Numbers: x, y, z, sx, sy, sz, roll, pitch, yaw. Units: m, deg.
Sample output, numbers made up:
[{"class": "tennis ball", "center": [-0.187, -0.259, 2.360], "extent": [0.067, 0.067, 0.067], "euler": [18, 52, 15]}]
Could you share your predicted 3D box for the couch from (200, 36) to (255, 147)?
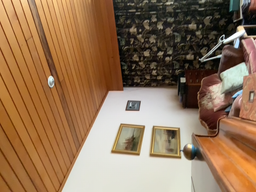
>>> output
[{"class": "couch", "center": [1.350, -0.040, 2.590], "extent": [0.980, 0.740, 0.930], "euler": [78, -162, -49]}]
